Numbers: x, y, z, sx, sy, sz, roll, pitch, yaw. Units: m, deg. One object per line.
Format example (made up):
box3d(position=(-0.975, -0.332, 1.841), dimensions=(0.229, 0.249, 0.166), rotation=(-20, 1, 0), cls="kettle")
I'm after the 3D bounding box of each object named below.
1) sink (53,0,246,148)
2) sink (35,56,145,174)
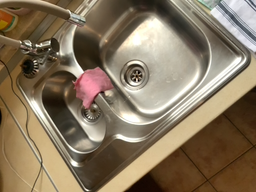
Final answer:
box3d(position=(0.050, -0.150, 0.740), dimensions=(0.380, 0.190, 0.490), rotation=(-43, 74, 13), cls="sink")
box3d(position=(-0.140, 0.060, 0.790), dimensions=(0.190, 0.160, 0.360), rotation=(-43, 74, 13), cls="sink")
